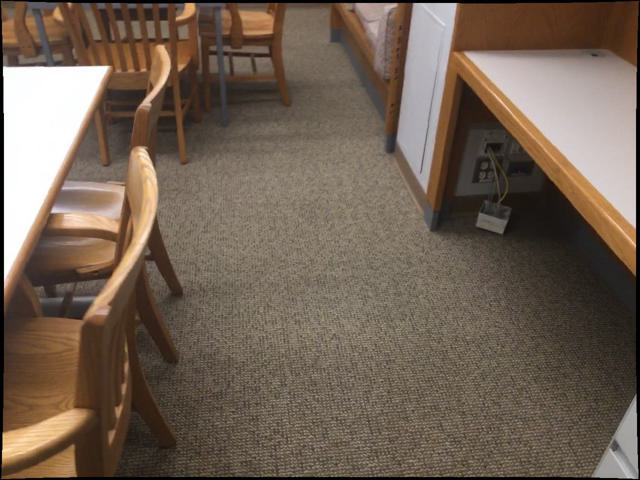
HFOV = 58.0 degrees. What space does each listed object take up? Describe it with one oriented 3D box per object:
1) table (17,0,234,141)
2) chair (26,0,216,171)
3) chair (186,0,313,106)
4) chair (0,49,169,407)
[{"bbox_3d":[-0.948,-1.123,3.110,0.878,0.751,0.981,-4,38,-7],"label":"table"},{"bbox_3d":[-0.858,-0.852,2.690,0.639,0.822,0.680,-5,28,-7],"label":"chair"},{"bbox_3d":[-0.399,-1.283,3.160,0.619,0.871,0.680,0,32,-10],"label":"chair"},{"bbox_3d":[-0.698,-0.020,1.530,0.529,0.821,0.440,1,32,-11],"label":"chair"}]
